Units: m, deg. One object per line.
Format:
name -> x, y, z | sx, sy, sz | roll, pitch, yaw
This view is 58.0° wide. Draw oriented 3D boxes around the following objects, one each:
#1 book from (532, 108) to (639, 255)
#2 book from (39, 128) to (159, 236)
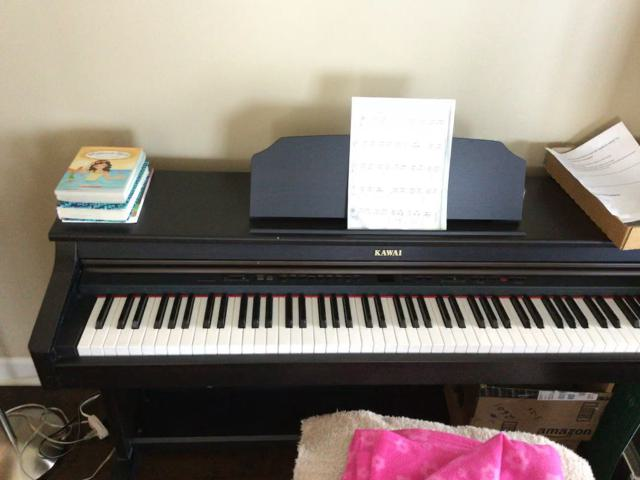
book -> 0.680, -0.140, 1.290 | 0.260, 0.160, 0.350 | 1, 38, -4
book -> -0.460, -0.130, 1.240 | 0.170, 0.110, 0.250 | 1, 38, -4
